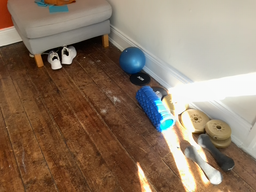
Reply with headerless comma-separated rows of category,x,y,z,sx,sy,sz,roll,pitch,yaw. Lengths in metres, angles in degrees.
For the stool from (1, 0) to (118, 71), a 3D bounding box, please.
stool,-0.640,-0.740,2.060,0.850,0.470,0.670,-25,48,-25
